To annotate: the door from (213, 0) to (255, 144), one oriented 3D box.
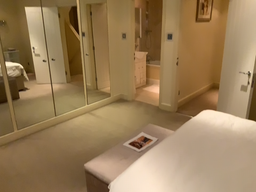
[{"bbox_3d":[1.380,-0.400,2.780,0.030,1.930,0.720,-1,19,-1],"label":"door"}]
